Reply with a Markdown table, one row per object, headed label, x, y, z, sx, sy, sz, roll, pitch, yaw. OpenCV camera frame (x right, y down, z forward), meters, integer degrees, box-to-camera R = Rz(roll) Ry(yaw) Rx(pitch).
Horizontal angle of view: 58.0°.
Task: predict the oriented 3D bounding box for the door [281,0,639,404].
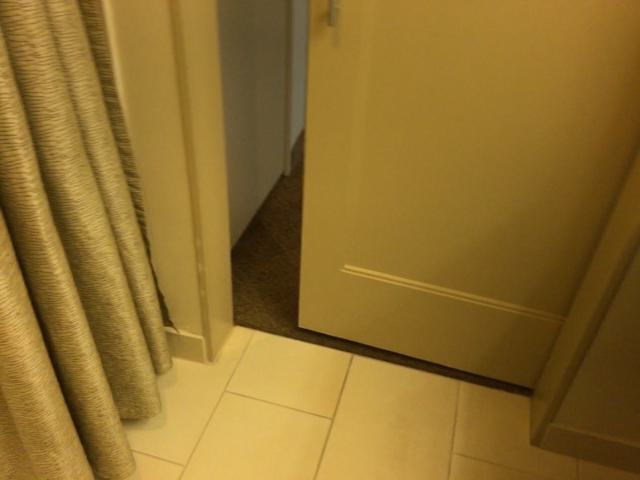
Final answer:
| label | x | y | z | sx | sy | sz | roll | pitch | yaw |
| --- | --- | --- | --- | --- | --- | --- | --- | --- | --- |
| door | 0.270 | -0.200 | 1.250 | 0.700 | 1.360 | 0.120 | 11 | 39 | 12 |
